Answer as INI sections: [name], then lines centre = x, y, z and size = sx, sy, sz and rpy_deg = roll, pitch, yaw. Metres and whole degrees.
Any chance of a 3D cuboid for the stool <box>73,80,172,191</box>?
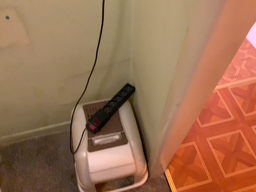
[stool]
centre = -0.050, 0.250, 1.220
size = 0.380, 0.420, 0.460
rpy_deg = -13, 59, -8
